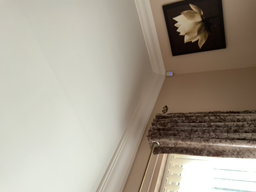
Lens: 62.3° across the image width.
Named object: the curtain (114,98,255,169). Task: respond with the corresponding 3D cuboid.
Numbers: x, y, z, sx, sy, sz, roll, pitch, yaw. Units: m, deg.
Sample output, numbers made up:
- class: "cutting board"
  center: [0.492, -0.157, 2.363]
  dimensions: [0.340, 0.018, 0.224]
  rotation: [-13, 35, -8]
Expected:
- class: "curtain"
  center: [1.090, 0.240, 1.390]
  dimensions: [0.390, 2.420, 0.310]
  rotation: [-59, -42, -50]
